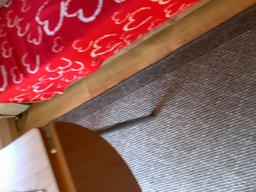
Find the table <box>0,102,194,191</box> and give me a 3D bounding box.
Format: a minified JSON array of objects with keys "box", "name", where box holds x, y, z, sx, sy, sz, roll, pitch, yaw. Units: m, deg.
[{"box":[-0.180,0.460,0.850,0.660,0.760,0.650,-27,77,25],"name":"table"}]
